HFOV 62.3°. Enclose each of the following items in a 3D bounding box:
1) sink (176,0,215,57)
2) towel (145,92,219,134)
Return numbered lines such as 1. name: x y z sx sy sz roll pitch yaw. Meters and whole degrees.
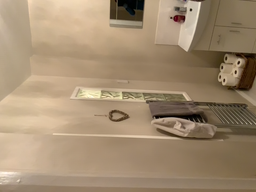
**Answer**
1. sink: 0.740 -0.930 2.300 0.500 0.150 0.890 -97 11 -66
2. towel: 0.440 0.140 1.880 0.430 0.510 0.180 -99 13 -69
